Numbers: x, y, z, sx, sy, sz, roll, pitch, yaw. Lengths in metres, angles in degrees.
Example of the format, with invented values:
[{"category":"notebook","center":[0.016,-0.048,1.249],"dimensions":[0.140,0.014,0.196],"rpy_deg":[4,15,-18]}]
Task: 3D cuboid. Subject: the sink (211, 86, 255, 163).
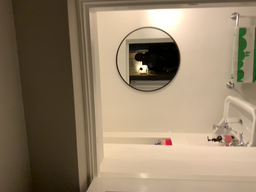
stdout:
[{"category":"sink","center":[0.900,0.180,1.650],"dimensions":[0.590,0.290,0.420],"rpy_deg":[-72,-18,-77]}]
